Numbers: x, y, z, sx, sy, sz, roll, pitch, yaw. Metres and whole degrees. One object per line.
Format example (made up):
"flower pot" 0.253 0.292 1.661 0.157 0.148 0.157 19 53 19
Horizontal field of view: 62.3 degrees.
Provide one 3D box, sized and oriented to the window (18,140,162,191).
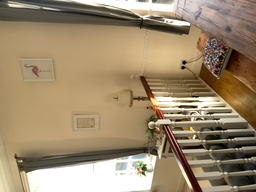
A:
"window" -0.720 1.600 4.460 0.310 2.680 1.400 -107 21 -60
